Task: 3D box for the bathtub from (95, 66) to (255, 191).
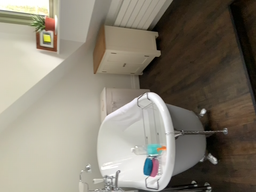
[{"bbox_3d":[0.180,0.480,2.160,1.730,0.720,0.850,136,133,-64],"label":"bathtub"}]
